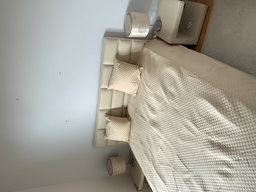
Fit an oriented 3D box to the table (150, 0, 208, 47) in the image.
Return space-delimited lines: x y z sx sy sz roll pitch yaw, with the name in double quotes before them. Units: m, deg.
"table" 0.530 -0.820 2.320 0.460 0.330 0.420 -128 41 -55
